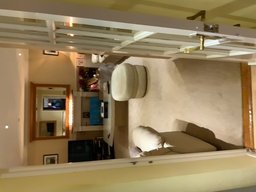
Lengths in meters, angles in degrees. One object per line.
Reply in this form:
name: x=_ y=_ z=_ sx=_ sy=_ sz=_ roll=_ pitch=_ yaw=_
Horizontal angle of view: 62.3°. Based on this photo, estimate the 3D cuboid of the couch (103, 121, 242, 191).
couch: x=0.340 y=0.830 z=2.140 sx=1.040 sy=0.980 sz=1.020 roll=176 pitch=94 yaw=-72

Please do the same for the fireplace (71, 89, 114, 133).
fireplace: x=-1.020 y=0.410 z=6.040 sx=0.600 sy=1.130 sz=1.150 roll=173 pitch=98 yaw=-71

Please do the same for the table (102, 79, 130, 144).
table: x=-0.310 y=0.350 z=4.980 sx=0.870 sy=0.430 sz=1.360 roll=171 pitch=99 yaw=-71
